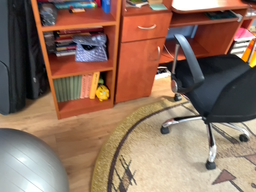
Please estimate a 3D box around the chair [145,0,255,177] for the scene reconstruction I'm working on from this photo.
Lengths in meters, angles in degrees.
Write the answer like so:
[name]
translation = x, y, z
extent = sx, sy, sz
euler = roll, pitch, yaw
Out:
[chair]
translation = 0.590, -0.150, 1.190
extent = 0.620, 1.070, 0.630
euler = -11, 50, -18
